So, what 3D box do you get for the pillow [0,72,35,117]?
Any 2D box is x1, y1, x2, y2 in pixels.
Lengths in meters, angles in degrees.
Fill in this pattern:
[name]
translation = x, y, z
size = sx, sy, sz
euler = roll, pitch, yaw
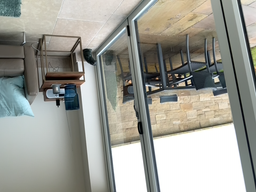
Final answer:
[pillow]
translation = -1.290, -0.010, 2.390
size = 0.400, 0.440, 0.400
euler = -4, 173, -27
